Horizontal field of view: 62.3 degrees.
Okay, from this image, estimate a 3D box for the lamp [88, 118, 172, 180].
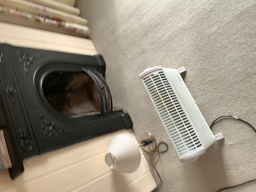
[{"bbox_3d":[0.030,0.350,1.470,0.290,0.480,0.240,-29,76,35],"label":"lamp"}]
